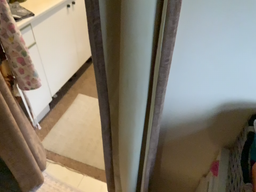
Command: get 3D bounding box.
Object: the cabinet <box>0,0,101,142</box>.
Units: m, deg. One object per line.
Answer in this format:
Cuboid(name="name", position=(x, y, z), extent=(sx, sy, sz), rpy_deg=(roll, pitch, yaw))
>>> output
Cuboid(name="cabinet", position=(-0.860, -0.450, 1.980), extent=(0.630, 0.900, 1.320), rpy_deg=(17, 45, 14))
